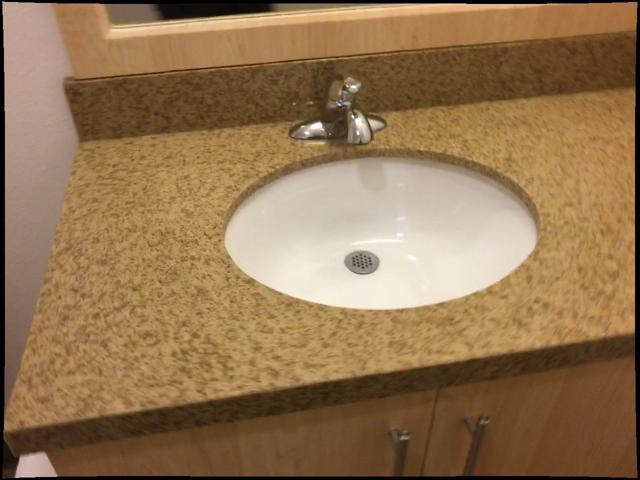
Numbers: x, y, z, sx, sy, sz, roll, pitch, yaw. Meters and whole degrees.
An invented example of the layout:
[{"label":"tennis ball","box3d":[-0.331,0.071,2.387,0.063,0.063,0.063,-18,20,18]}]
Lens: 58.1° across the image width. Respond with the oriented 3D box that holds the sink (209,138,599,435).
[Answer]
[{"label":"sink","box3d":[0.080,0.040,0.850,0.449,0.180,0.360,-7,39,-7]}]
